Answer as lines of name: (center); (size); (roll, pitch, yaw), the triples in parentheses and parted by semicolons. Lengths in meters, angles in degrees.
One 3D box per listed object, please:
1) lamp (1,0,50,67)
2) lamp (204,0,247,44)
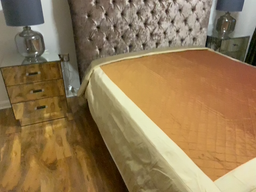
lamp: (-0.910, -0.590, 1.930); (0.280, 0.550, 0.290); (-10, 30, -19)
lamp: (1.280, -1.040, 2.820); (0.290, 0.590, 0.320); (-10, 29, -20)
